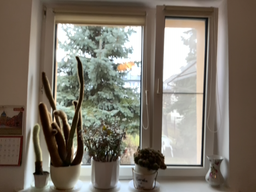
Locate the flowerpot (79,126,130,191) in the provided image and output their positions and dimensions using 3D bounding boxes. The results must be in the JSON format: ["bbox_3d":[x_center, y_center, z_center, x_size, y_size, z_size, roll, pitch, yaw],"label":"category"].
[{"bbox_3d":[-0.170,0.460,1.590,0.340,0.450,0.210,1,-3,-5],"label":"flowerpot"}]
